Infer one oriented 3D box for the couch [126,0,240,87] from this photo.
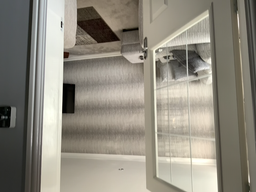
[{"bbox_3d":[0.810,-0.730,3.100,1.060,0.860,2.140,-3,174,18],"label":"couch"}]
